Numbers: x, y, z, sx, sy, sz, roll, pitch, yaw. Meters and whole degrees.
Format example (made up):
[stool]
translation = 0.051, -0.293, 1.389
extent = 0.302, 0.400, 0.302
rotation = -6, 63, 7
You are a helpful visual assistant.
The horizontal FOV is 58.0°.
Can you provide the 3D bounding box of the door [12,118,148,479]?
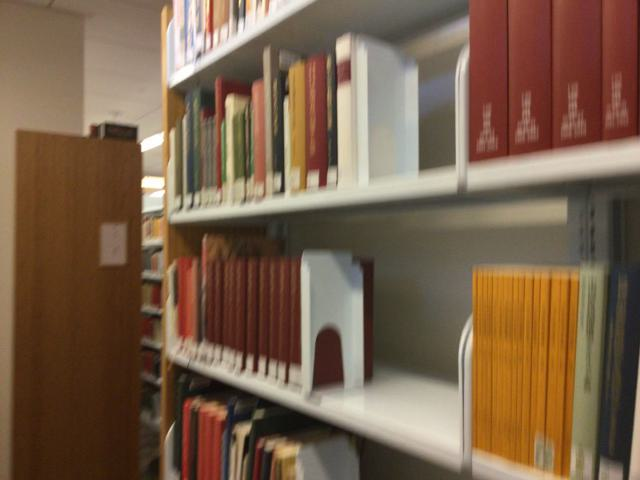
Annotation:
[door]
translation = -1.160, 0.480, 2.830
extent = 0.590, 2.070, 0.090
rotation = 1, -1, -35
